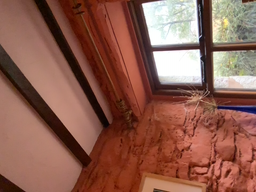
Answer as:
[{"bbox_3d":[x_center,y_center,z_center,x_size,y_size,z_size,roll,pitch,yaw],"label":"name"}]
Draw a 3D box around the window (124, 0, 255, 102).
[{"bbox_3d":[0.590,-0.330,1.470,0.940,1.050,0.110,70,-149,-41],"label":"window"}]
